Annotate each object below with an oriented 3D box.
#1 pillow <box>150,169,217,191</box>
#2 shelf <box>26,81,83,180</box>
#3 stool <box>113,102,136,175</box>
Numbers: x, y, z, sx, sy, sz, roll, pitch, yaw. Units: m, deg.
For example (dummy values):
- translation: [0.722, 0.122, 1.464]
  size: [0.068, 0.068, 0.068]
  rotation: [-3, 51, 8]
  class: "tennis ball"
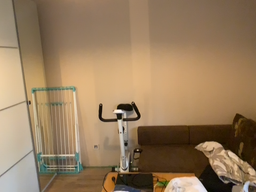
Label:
- translation: [0.430, 0.810, 1.650]
  size: [0.500, 0.140, 0.660]
  rotation: [-2, 11, 6]
  class: "pillow"
- translation: [-1.030, 0.510, 3.030]
  size: [0.620, 1.420, 0.120]
  rotation: [-3, 11, 3]
  class: "shelf"
- translation: [-0.040, 0.580, 2.920]
  size: [0.240, 0.960, 0.240]
  rotation: [-2, 11, 6]
  class: "stool"
